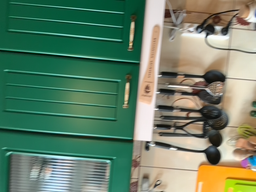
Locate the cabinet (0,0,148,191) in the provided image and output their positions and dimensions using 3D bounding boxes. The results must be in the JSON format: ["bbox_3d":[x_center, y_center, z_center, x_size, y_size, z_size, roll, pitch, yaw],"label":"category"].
[{"bbox_3d":[-0.280,0.230,0.960,0.300,0.590,1.400,-98,13,-85],"label":"cabinet"}]
